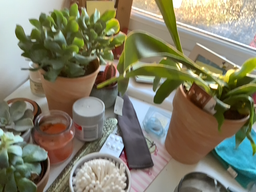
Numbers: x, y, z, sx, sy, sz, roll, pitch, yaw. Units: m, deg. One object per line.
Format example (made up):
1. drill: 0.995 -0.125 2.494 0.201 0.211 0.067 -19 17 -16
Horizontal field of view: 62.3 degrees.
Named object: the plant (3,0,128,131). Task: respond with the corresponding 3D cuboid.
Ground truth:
1. plant: -0.110 -0.070 0.420 0.140 0.170 0.170 21 39 6
